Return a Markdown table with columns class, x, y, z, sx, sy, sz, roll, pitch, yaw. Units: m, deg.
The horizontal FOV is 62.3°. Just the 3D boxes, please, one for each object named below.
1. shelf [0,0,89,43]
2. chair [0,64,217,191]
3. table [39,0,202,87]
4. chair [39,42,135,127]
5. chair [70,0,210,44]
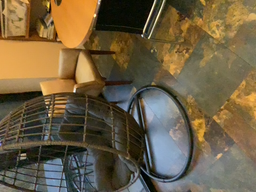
| class | x | y | z | sx | sy | sz | roll | pitch | yaw |
| --- | --- | --- | --- | --- | --- | --- | --- | --- | --- |
| shelf | -1.540 | -1.100 | 2.830 | 0.300 | 1.950 | 0.620 | 57 | 138 | 35 |
| chair | -0.310 | 0.390 | 1.680 | 0.960 | 1.460 | 0.840 | 58 | 139 | 33 |
| table | -0.090 | -1.170 | 1.760 | 1.820 | 0.820 | 1.340 | -51 | 54 | 47 |
| chair | -0.510 | -0.150 | 2.460 | 0.620 | 0.820 | 0.640 | 59 | 139 | 32 |
| chair | 0.090 | -0.680 | 1.490 | 0.450 | 0.820 | 0.420 | 53 | 136 | 38 |
